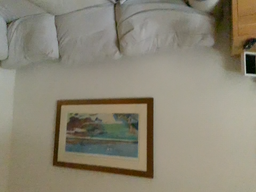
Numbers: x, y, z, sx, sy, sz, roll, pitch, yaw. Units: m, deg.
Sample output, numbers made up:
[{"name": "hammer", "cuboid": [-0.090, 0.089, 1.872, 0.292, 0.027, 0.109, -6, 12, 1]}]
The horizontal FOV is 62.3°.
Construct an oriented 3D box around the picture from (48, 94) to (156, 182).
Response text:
[{"name": "picture", "cuboid": [-0.310, 0.380, 2.150, 1.200, 0.770, 0.040, -1, 174, 24]}]
